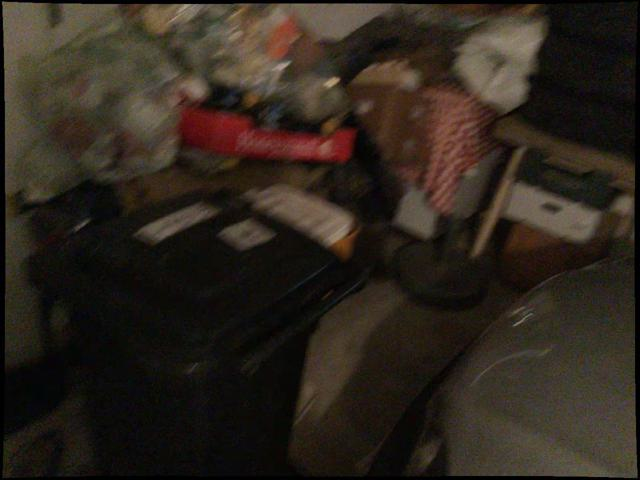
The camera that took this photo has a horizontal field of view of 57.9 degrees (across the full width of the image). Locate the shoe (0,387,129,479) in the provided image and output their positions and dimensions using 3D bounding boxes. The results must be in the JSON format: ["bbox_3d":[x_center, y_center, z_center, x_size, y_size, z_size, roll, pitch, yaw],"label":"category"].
[{"bbox_3d":[-0.769,0.631,1.630,0.390,0.130,0.250,27,39,27],"label":"shoe"}]

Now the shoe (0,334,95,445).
[{"bbox_3d":[-0.939,0.470,1.870,0.240,0.090,0.300,27,39,27],"label":"shoe"}]
